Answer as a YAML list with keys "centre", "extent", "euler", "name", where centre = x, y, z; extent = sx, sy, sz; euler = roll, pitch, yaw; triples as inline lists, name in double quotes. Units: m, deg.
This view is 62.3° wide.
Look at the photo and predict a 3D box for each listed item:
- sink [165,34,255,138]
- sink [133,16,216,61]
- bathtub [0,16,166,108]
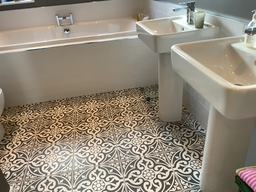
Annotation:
- centre: [0.470, -0.100, 0.940]
  extent: [0.440, 0.180, 0.550]
  euler: [-9, 30, -8]
  name: "sink"
- centre: [0.310, -0.460, 1.610]
  extent: [0.430, 0.170, 0.530]
  euler: [-9, 30, -8]
  name: "sink"
- centre: [-0.760, -0.500, 2.660]
  extent: [2.200, 0.640, 1.010]
  euler: [-8, 30, -10]
  name: "bathtub"
